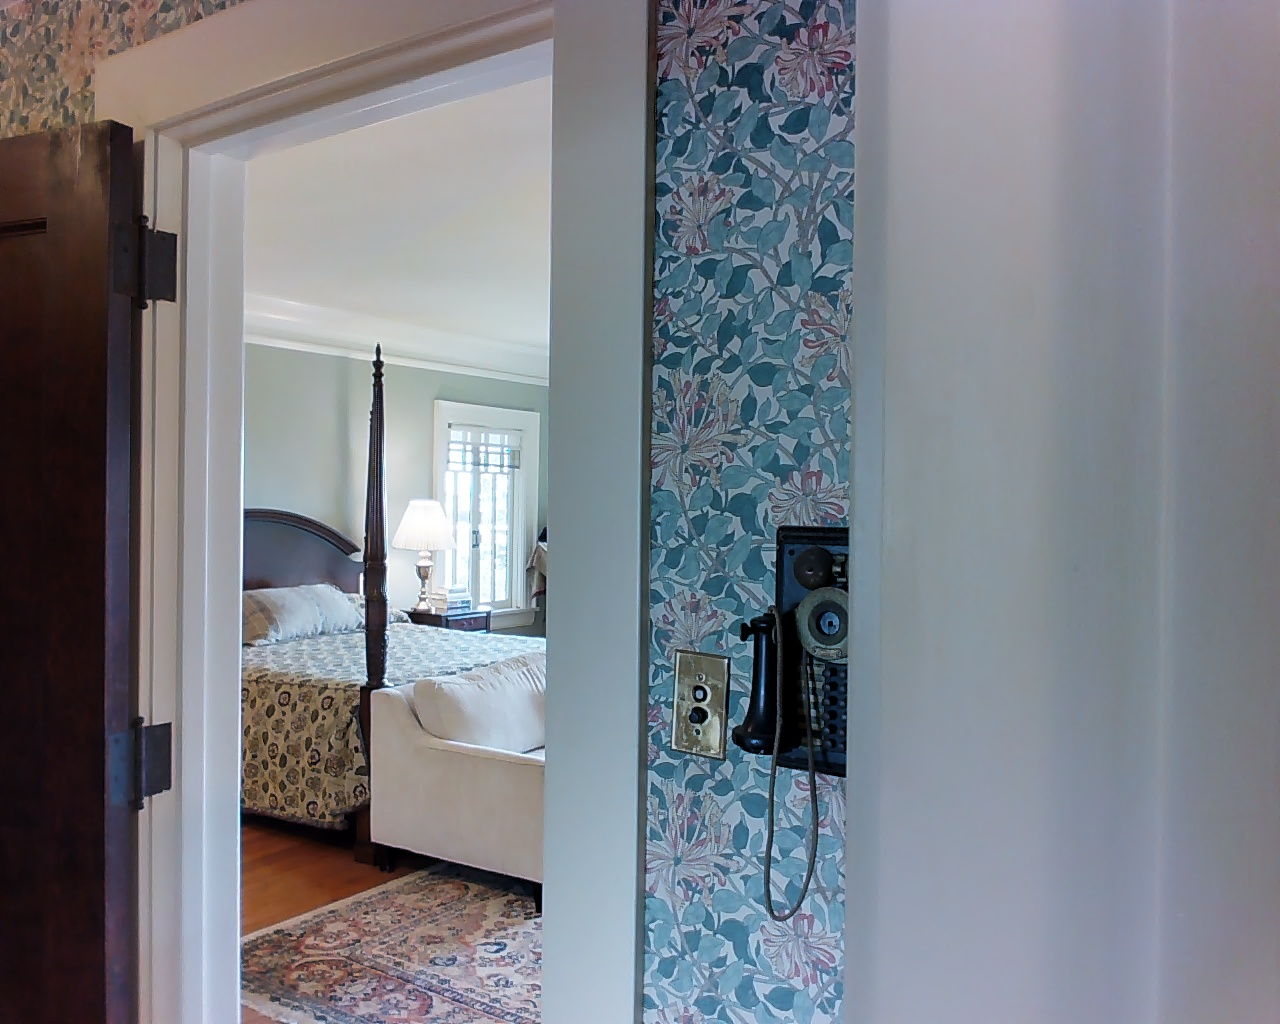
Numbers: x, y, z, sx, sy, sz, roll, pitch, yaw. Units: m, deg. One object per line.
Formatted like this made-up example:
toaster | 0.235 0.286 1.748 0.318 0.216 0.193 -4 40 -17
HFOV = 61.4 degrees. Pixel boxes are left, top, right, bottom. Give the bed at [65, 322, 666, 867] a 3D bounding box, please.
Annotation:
bed | -1.480 0.330 6.090 2.400 2.270 2.250 1 0 34
